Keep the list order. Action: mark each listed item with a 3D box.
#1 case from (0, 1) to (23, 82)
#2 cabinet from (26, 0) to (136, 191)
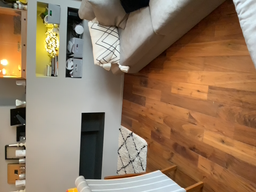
[{"bbox_3d":[-1.620,-0.700,2.820,0.300,0.390,0.980,18,106,61],"label":"case"},{"bbox_3d":[-0.780,1.040,3.350,0.320,1.470,4.740,17,105,62],"label":"cabinet"}]
